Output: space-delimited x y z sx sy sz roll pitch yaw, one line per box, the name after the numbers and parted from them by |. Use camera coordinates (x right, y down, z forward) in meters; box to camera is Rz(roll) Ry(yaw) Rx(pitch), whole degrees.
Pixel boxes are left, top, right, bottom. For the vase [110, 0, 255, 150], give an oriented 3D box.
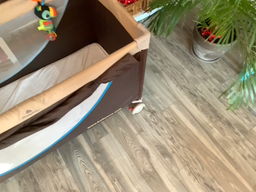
0.720 -0.610 1.510 1.230 1.050 1.260 -30 66 -16 | vase
